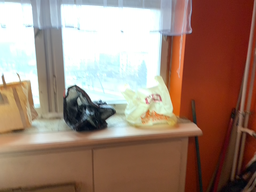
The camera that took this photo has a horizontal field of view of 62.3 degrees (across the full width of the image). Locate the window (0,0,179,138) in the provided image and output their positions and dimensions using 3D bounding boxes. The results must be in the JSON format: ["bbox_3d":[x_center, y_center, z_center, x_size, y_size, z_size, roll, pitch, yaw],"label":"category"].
[{"bbox_3d":[-0.520,-0.380,1.320,1.750,1.290,0.100,-2,14,-15],"label":"window"}]

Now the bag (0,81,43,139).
[{"bbox_3d":[-0.740,0.070,1.290,0.340,0.270,0.300,-1,14,-9],"label":"bag"}]
